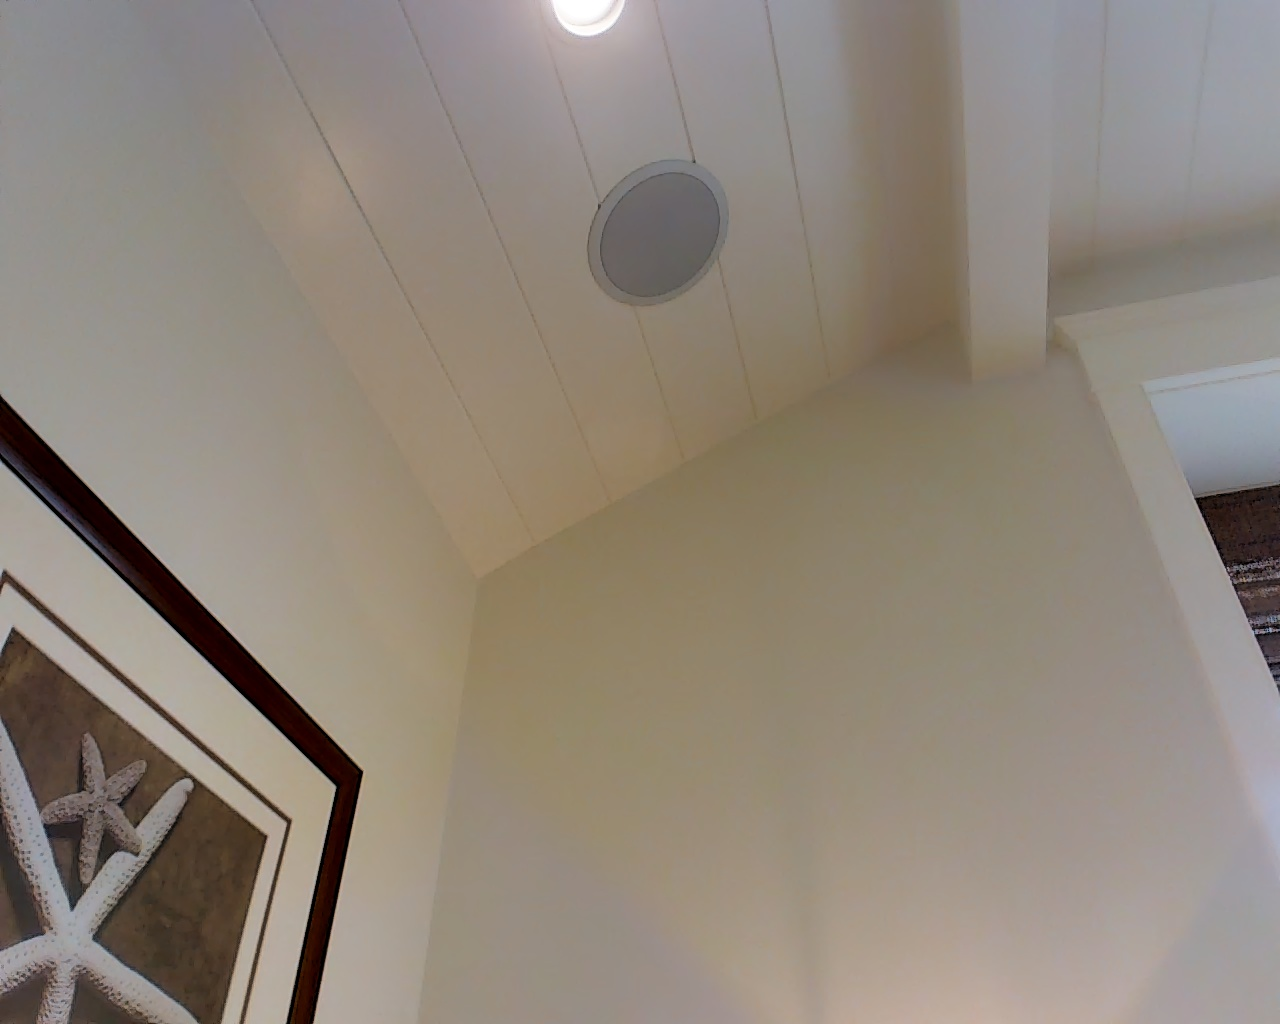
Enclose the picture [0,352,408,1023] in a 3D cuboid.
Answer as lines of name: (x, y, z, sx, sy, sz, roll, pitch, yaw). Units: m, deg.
picture: (-0.500, 0.450, 1.060, 0.060, 0.850, 0.870, -10, -43, 11)
